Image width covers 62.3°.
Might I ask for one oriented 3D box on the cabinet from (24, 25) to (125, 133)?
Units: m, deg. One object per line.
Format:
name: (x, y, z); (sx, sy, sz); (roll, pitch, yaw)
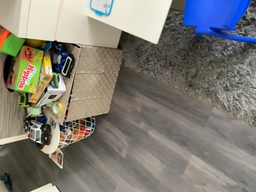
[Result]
cabinet: (-0.440, -0.150, 1.690); (0.500, 0.480, 0.620); (31, 114, 33)

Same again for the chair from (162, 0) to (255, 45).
chair: (0.430, -0.420, 0.970); (0.350, 0.410, 0.320); (12, 103, 39)
